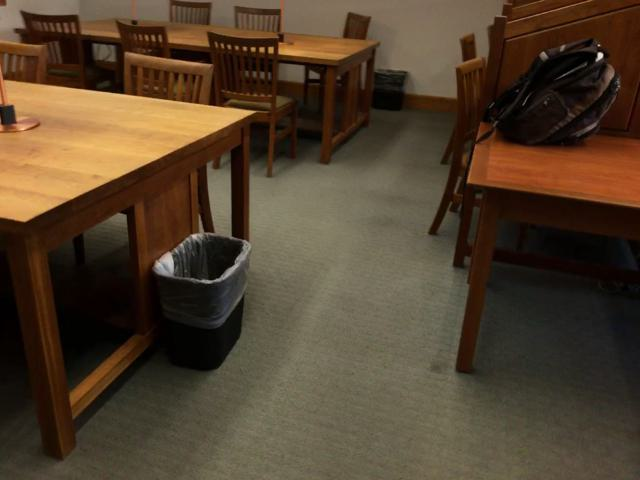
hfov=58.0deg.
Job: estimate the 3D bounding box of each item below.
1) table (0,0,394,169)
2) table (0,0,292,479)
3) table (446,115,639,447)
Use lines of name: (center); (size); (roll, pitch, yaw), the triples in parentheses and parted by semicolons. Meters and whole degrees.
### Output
table: (-0.940, -1.500, 4.920); (2.720, 1.290, 1.800); (4, 24, 21)
table: (-1.730, -0.220, 2.420); (2.720, 1.190, 1.570); (4, 24, 21)
table: (1.420, 0.100, 2.030); (1.790, 0.900, 0.930); (3, 24, 20)
